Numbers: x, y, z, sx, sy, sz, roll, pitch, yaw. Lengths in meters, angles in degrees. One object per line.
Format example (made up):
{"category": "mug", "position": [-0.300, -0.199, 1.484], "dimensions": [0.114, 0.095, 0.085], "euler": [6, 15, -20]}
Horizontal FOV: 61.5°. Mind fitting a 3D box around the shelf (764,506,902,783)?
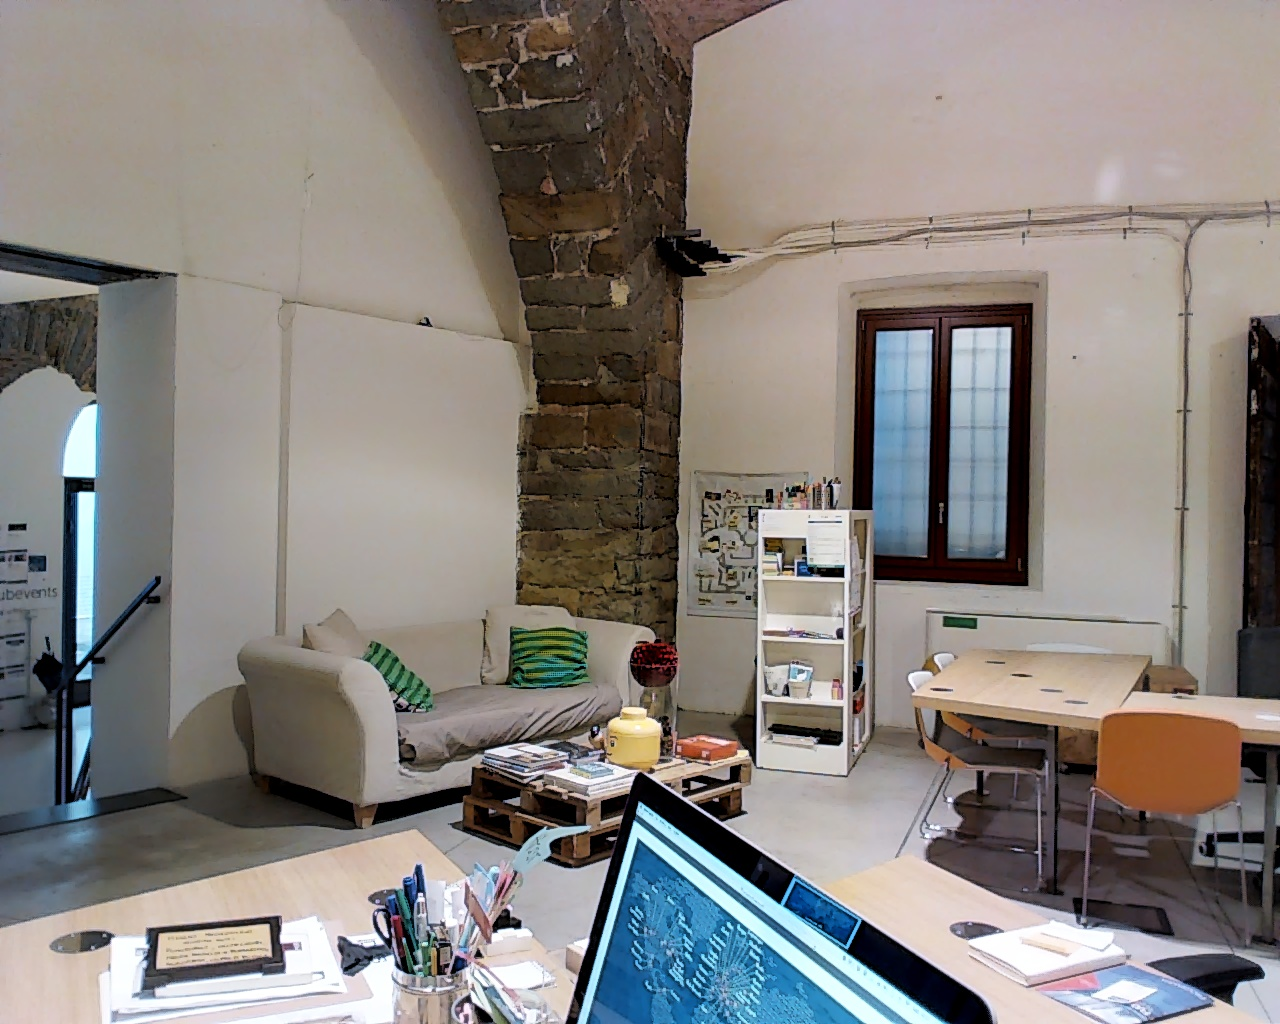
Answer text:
{"category": "shelf", "position": [1.230, 0.720, 6.650], "dimensions": [0.590, 1.500, 1.490], "euler": [1, 0, 19]}
